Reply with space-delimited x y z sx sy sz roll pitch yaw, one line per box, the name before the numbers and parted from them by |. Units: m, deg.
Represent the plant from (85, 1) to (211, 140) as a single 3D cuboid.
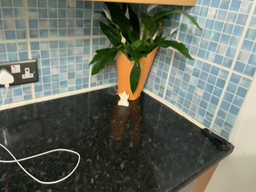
plant | 0.040 -0.130 0.850 0.260 0.400 0.370 -16 36 -37
